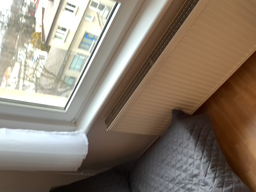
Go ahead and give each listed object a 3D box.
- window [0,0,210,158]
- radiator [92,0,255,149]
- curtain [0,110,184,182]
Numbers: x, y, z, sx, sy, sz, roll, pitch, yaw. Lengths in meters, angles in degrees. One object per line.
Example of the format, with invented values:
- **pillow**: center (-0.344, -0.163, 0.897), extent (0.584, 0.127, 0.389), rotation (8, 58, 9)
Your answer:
- **window**: center (-0.740, -0.260, 0.950), extent (1.750, 1.930, 0.150), rotation (-53, 41, 33)
- **radiator**: center (0.390, -0.100, 1.410), extent (1.190, 0.790, 0.250), rotation (-54, 40, 32)
- **curtain**: center (-0.730, 0.320, 1.320), extent (0.350, 2.690, 0.290), rotation (-51, 41, 34)
